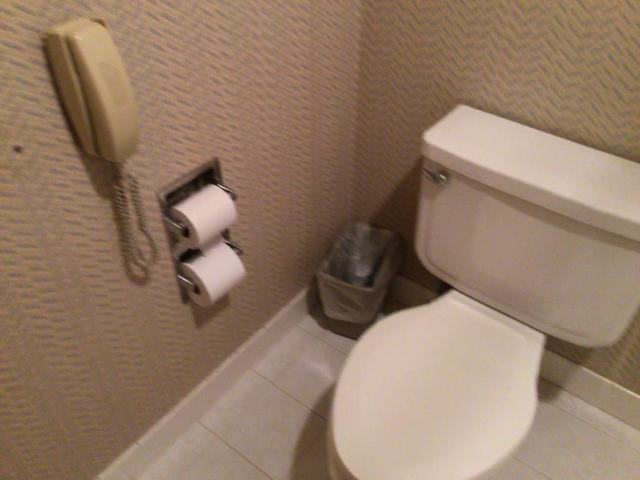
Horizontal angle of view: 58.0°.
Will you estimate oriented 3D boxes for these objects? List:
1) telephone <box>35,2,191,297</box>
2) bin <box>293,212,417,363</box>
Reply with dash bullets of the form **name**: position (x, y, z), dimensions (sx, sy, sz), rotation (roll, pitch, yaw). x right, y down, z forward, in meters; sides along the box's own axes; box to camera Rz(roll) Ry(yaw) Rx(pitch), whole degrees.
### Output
- **telephone**: position (-0.310, -0.120, 0.920), dimensions (0.100, 0.460, 0.090), rotation (26, 46, 30)
- **bin**: position (0.100, 0.130, 1.660), dimensions (0.230, 0.270, 0.260), rotation (26, 46, 30)
